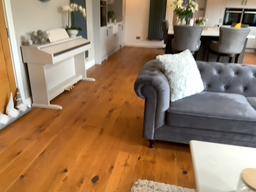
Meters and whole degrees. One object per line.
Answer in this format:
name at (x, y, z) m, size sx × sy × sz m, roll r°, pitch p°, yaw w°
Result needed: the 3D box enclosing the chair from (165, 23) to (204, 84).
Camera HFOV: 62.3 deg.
chair at (1.080, -0.860, 4.210) m, size 0.570 × 1.070 × 0.610 m, roll 6°, pitch 22°, yaw 8°
